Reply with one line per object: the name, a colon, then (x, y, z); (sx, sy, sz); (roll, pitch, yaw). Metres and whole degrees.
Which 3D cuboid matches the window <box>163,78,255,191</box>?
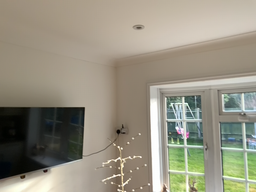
window: (1.210, 0.540, 2.100); (1.860, 1.420, 0.120); (-4, -4, 39)
